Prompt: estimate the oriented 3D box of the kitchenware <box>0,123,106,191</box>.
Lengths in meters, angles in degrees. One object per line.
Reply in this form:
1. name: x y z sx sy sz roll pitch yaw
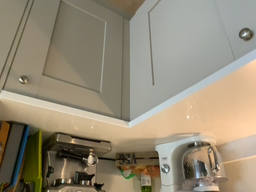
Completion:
1. kitchenware: -0.440 0.390 1.100 0.530 0.300 0.360 18 146 -29
